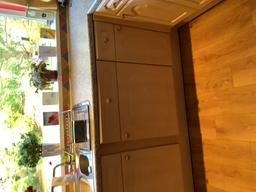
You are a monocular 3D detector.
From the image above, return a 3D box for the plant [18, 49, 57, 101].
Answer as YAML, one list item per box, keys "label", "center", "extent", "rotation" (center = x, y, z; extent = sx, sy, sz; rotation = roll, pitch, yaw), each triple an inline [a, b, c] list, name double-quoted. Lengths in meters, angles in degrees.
- label: "plant"
  center: [-0.860, -0.180, 2.000]
  extent: [0.280, 0.300, 0.420]
  rotation: [-20, 74, 59]

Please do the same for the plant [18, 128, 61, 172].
- label: "plant"
  center: [-0.810, 0.480, 1.920]
  extent: [0.260, 0.320, 0.330]
  rotation: [-27, 67, 58]
